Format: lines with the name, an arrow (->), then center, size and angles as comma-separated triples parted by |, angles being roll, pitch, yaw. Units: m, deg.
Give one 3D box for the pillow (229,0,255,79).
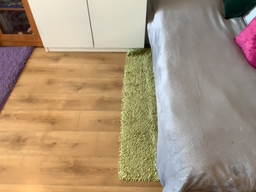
pillow -> 0.920, -0.420, 1.500 | 0.200, 0.380, 0.460 | 5, 63, 3
